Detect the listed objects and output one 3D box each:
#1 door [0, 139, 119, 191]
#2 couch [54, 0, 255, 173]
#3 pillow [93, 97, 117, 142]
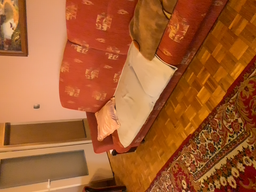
[{"bbox_3d":[-1.270,1.230,3.860,0.830,2.120,0.060,-115,34,-43],"label":"door"},{"bbox_3d":[-0.100,-0.380,2.180,2.390,1.060,1.180,113,147,-42],"label":"couch"},{"bbox_3d":[-0.300,0.290,2.640,0.340,0.150,0.430,119,143,-48],"label":"pillow"}]
